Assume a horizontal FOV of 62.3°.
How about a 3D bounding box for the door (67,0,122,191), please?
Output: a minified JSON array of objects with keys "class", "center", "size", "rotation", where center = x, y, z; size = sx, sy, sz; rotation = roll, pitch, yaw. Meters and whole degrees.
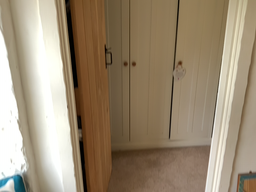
[{"class":"door","center":[-0.170,-0.050,1.430],"size":[0.210,2.150,0.790],"rotation":[-2,19,-3]}]
